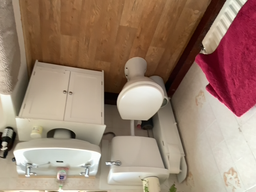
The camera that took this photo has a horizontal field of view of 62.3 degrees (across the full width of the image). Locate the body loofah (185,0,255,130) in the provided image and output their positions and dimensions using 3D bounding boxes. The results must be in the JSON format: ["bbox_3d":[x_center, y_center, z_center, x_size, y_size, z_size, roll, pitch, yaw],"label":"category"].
[{"bbox_3d":[0.650,-0.370,1.060,0.150,0.660,0.950,5,139,-15],"label":"body loofah"}]

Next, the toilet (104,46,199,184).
[{"bbox_3d":[0.090,0.160,1.760,0.440,0.890,0.670,6,139,-15],"label":"toilet"}]
